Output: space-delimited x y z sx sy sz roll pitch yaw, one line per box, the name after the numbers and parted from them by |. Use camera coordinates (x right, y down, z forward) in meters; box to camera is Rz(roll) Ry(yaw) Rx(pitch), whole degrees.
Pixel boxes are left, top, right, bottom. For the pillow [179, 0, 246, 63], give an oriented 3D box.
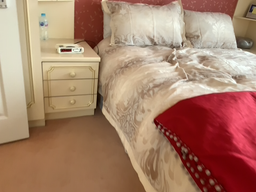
0.890 -0.700 2.180 0.650 0.430 0.200 30 1 -36 | pillow

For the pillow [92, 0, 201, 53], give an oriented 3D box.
0.160 -0.700 1.920 0.830 0.410 0.380 4 21 -29 | pillow

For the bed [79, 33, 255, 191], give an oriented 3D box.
0.730 0.080 1.570 1.750 0.570 2.060 -5 28 -24 | bed
